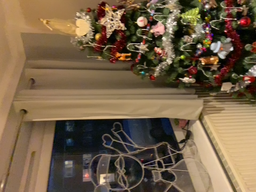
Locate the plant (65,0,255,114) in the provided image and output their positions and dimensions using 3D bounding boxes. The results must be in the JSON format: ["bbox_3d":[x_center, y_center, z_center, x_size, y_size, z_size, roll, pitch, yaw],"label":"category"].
[{"bbox_3d":[0.420,-0.490,1.710,1.100,1.690,1.160,174,96,-79],"label":"plant"}]
